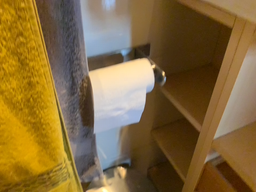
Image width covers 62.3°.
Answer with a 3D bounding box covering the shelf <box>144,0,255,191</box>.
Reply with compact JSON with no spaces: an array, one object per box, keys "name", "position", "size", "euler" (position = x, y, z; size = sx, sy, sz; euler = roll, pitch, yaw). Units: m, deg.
[{"name":"shelf","position":[0.240,0.180,0.540],"size":[0.200,0.780,0.380],"euler":[-16,43,-19]}]
